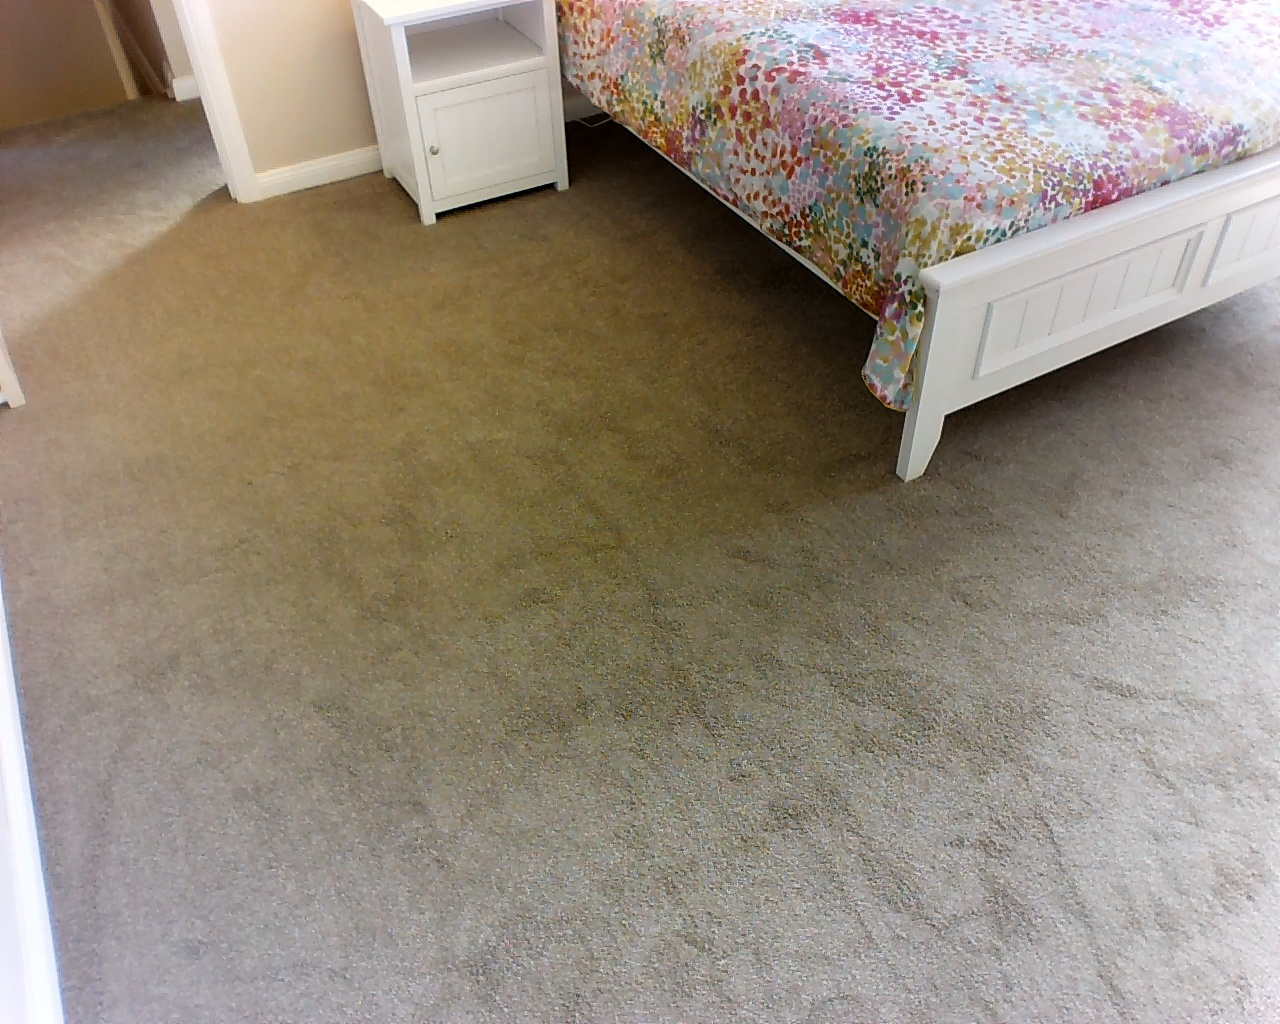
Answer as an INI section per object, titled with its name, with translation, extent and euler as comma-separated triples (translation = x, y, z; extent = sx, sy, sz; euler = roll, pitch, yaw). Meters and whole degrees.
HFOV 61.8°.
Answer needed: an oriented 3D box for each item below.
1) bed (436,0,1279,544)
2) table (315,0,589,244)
[bed]
translation = 0.750, -1.390, 2.860
extent = 1.940, 1.240, 2.290
euler = -22, 46, -20
[table]
translation = -0.560, -1.290, 3.230
extent = 0.610, 0.660, 0.500
euler = -21, 46, -19
